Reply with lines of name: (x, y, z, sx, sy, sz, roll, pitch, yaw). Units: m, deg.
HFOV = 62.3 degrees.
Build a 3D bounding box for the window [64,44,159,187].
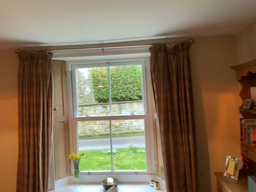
window: (-0.230, 0.280, 2.980, 1.240, 1.880, 0.230, -2, 1, 9)
